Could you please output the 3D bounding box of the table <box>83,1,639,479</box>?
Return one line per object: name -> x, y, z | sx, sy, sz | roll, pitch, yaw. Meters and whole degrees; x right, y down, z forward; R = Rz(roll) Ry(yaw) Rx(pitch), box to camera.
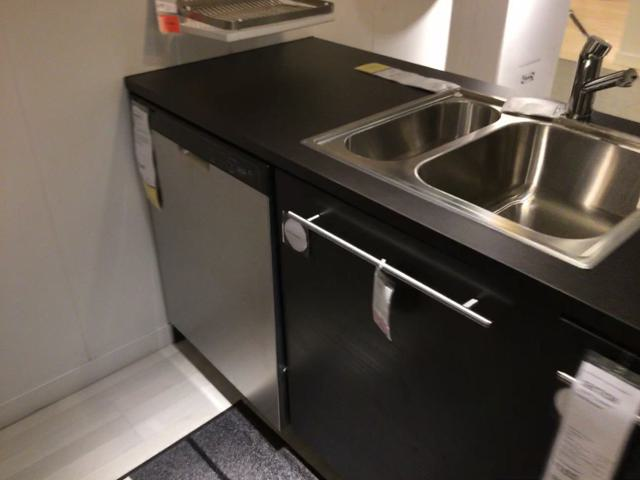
table -> 0.270, 0.140, 1.410 | 0.920, 1.100, 1.460 | -24, 38, -33
